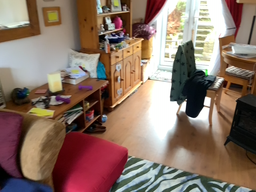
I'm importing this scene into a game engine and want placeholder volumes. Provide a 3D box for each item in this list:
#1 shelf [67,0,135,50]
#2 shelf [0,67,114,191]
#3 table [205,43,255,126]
[{"bbox_3d":[-0.300,-1.240,2.880,0.390,0.960,1.110,11,27,22],"label":"shelf"},{"bbox_3d":[-0.760,0.180,2.260,0.590,0.540,1.440,12,28,23],"label":"shelf"},{"bbox_3d":[1.410,-0.210,2.840,0.510,0.780,0.870,12,28,23],"label":"table"}]
